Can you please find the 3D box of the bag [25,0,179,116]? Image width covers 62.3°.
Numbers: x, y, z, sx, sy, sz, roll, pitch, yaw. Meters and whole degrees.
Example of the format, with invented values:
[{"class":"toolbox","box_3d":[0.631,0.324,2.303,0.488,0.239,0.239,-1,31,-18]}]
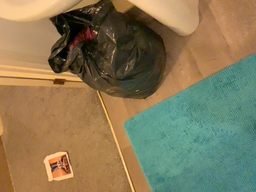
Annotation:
[{"class":"bag","box_3d":[-0.110,-0.220,1.080,0.440,0.510,0.480,-25,78,30]}]
